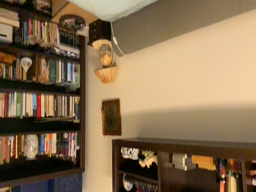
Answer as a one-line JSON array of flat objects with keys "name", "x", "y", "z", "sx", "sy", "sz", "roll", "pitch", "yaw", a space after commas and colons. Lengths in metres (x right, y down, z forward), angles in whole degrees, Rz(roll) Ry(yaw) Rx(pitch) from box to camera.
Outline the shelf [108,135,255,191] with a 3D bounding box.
[{"name": "shelf", "x": 0.420, "y": 0.480, "z": 1.120, "sx": 0.280, "sy": 0.460, "sz": 1.350, "roll": 5, "pitch": 171, "yaw": -43}]

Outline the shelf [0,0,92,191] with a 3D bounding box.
[{"name": "shelf", "x": -0.850, "y": -0.210, "z": 2.100, "sx": 0.940, "sy": 1.980, "sz": 0.310, "roll": 5, "pitch": 172, "yaw": -42}]
